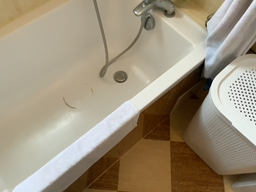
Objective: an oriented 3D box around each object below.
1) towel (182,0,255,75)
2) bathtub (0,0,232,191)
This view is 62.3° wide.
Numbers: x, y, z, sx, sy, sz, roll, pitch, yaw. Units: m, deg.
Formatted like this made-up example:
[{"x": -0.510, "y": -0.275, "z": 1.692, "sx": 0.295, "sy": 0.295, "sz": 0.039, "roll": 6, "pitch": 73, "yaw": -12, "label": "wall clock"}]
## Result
[{"x": 0.380, "y": -0.350, "z": 0.620, "sx": 0.200, "sy": 0.650, "sz": 0.190, "roll": -36, "pitch": 70, "yaw": -17, "label": "towel"}, {"x": -0.360, "y": 0.070, "z": 1.070, "sx": 1.550, "sy": 0.590, "sz": 0.680, "roll": -37, "pitch": 71, "yaw": -18, "label": "bathtub"}]
